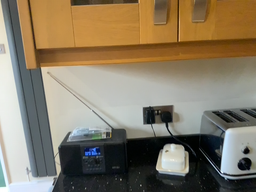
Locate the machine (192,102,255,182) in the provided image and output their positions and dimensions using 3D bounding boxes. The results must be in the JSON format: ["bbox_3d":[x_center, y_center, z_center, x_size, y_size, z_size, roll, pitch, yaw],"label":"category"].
[{"bbox_3d":[0.480,0.170,0.890,0.310,0.190,0.300,-4,14,-4],"label":"machine"}]
